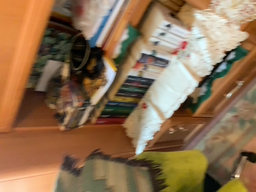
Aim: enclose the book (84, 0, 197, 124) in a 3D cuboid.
[{"bbox_3d":[0.030,-0.150,1.130,0.660,0.240,0.200,-57,50,28],"label":"book"}]
